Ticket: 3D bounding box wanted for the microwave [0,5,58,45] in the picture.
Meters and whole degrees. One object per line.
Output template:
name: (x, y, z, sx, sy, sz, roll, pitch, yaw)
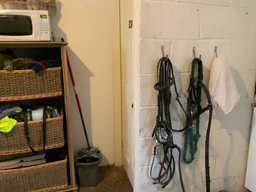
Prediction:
microwave: (-0.910, -0.590, 1.810, 0.570, 0.280, 0.350, -4, 13, -16)
